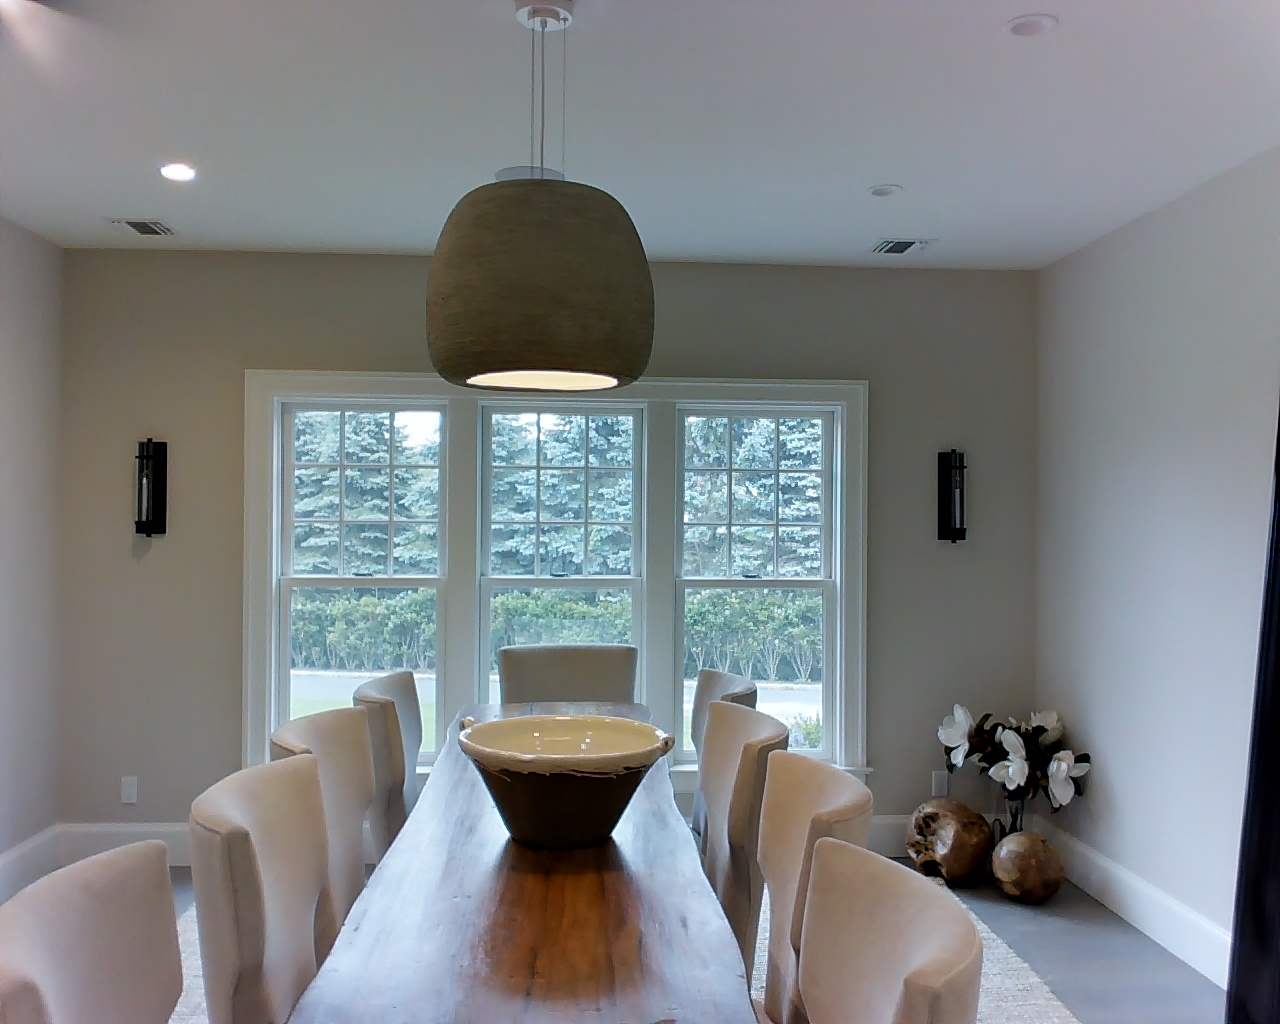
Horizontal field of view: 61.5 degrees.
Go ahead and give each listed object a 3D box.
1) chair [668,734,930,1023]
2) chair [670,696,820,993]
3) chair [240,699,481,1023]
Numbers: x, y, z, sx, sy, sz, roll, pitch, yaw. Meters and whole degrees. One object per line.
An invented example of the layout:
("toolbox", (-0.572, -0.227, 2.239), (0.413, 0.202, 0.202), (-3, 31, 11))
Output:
("chair", (0.280, 1.020, 2.150), (0.390, 1.020, 0.640), (0, -1, -4))
("chair", (0.250, 0.810, 2.760), (0.290, 0.580, 0.590), (0, -1, -4))
("chair", (-0.660, 1.040, 2.660), (0.470, 1.060, 0.570), (0, -1, -3))
